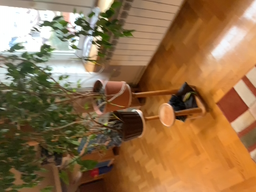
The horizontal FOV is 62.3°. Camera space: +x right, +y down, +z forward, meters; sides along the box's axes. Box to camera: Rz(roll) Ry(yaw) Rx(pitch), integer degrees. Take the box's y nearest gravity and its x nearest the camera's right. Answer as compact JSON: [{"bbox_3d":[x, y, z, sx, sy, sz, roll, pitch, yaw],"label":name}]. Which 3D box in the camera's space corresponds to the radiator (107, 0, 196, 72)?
[{"bbox_3d":[0.210,-0.640,2.300,0.130,0.650,0.920,65,146,31],"label":"radiator"}]
